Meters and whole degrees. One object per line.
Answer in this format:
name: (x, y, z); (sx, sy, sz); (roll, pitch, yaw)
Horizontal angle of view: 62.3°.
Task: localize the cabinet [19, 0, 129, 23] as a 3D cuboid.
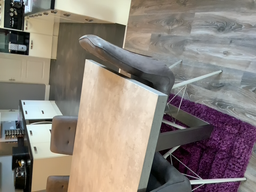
cabinet: (-1.330, -1.750, 3.890); (3.900, 0.910, 0.610); (30, 114, 55)
